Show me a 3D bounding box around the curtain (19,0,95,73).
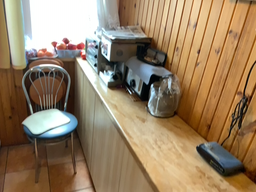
[{"bbox_3d":[-0.610,-1.010,1.840,0.630,1.650,0.150,-3,27,-22],"label":"curtain"}]
